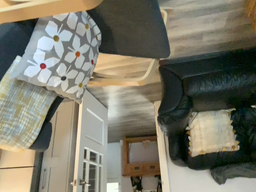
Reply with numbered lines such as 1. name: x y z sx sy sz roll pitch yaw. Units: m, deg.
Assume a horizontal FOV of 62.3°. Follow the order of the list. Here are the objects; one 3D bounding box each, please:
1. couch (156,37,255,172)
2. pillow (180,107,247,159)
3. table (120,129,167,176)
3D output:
1. couch: 1.200 0.150 2.050 1.670 0.940 1.070 -7 155 11
2. pillow: 0.830 0.380 2.140 0.520 0.430 0.260 -10 166 13
3. table: 0.310 1.190 4.450 0.900 0.840 0.360 -7 155 12
